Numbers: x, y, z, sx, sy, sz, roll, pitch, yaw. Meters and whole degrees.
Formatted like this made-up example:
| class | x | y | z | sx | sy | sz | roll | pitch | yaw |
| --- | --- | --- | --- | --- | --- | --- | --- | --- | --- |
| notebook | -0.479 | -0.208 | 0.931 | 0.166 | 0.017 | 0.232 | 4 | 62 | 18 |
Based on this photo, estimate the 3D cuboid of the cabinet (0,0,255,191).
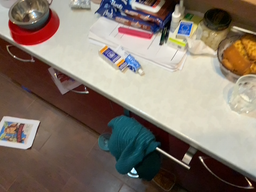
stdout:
| class | x | y | z | sx | sy | sz | roll | pitch | yaw |
| --- | --- | --- | --- | --- | --- | --- | --- | --- | --- |
| cabinet | 0.020 | 0.030 | 1.040 | 1.110 | 0.890 | 0.370 | 30 | 68 | 17 |
